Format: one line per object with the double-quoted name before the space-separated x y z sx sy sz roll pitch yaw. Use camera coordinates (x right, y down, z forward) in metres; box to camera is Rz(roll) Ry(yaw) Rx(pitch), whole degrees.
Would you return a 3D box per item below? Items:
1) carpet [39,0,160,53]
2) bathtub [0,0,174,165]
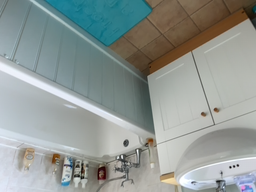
"carpet" -0.180 -0.530 1.190 0.410 0.030 0.670 -29 139 32
"bathtub" -0.560 -0.080 1.350 0.800 0.540 1.760 -28 140 31
